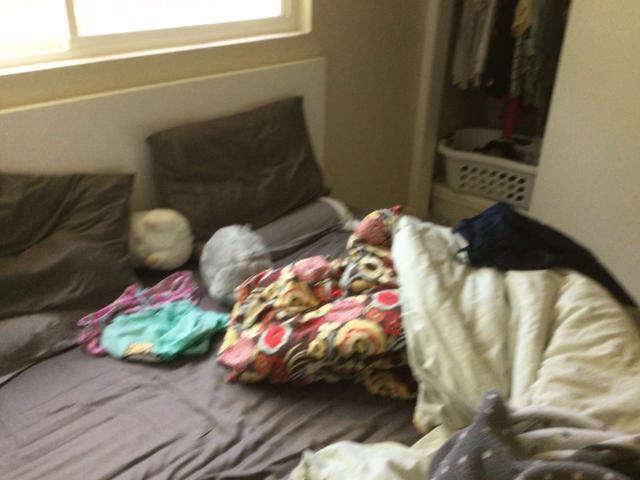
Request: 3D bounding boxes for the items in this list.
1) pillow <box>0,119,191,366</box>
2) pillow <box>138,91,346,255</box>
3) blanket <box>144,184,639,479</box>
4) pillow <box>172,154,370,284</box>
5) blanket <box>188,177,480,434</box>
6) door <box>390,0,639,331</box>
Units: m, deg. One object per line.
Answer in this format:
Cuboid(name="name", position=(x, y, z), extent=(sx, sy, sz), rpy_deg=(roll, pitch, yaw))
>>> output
Cuboid(name="pillow", position=(-0.780, 0.010, 1.490), extent=(0.300, 0.440, 0.790), rpy_deg=(21, 35, 39))
Cuboid(name="pillow", position=(-0.230, -0.260, 1.990), extent=(0.240, 0.350, 0.680), rpy_deg=(21, 35, 39))
Cuboid(name="blanket", position=(0.510, 0.320, 1.050), extent=(0.900, 0.300, 1.280), rpy_deg=(21, 35, 39))
Cuboid(name="pillow", position=(-0.140, -0.100, 1.980), extent=(0.260, 0.180, 0.660), rpy_deg=(21, 35, 39))
Cuboid(name="blanket", position=(0.050, 0.110, 1.460), extent=(0.440, 0.310, 0.560), rpy_deg=(21, 35, 39))
Cuboid(name="door", position=(0.920, -0.790, 2.150), extent=(1.350, 2.080, 0.340), rpy_deg=(21, 35, 39))
